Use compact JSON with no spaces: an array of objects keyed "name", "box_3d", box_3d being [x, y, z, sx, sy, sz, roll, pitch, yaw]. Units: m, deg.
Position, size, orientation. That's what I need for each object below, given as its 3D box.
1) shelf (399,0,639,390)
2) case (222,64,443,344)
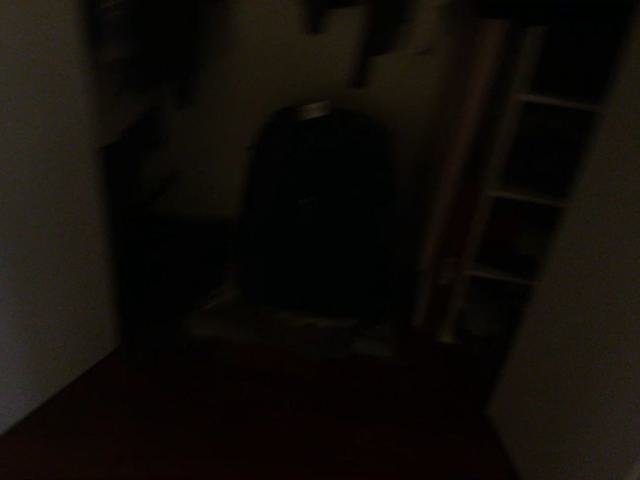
[{"name":"shelf","box_3d":[0.690,-0.140,1.650,0.700,1.040,0.370,9,30,-1]},{"name":"case","box_3d":[0.020,-0.120,1.790,0.510,0.660,0.460,9,30,-1]}]
